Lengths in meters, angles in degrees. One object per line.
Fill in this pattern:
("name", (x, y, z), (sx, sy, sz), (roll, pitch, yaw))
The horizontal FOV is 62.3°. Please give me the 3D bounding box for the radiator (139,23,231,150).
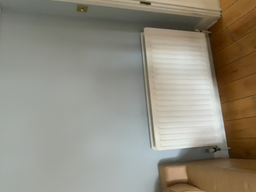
("radiator", (0.540, -0.100, 2.050), (0.170, 0.770, 1.140), (150, 118, -69))
